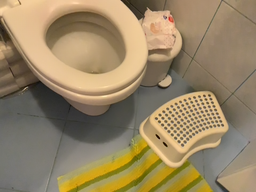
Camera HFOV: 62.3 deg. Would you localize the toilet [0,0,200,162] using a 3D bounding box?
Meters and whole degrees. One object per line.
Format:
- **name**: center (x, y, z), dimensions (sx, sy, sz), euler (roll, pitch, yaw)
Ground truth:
- **toilet**: center (-0.210, -0.270, 0.680), dimensions (0.380, 0.810, 0.680), euler (-33, 68, -21)
